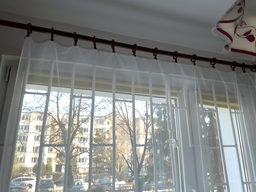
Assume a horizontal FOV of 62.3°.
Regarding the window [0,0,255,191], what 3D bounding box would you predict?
[{"bbox_3d":[0.240,0.440,1.300,2.010,1.880,0.150,6,-18,-19],"label":"window"}]
